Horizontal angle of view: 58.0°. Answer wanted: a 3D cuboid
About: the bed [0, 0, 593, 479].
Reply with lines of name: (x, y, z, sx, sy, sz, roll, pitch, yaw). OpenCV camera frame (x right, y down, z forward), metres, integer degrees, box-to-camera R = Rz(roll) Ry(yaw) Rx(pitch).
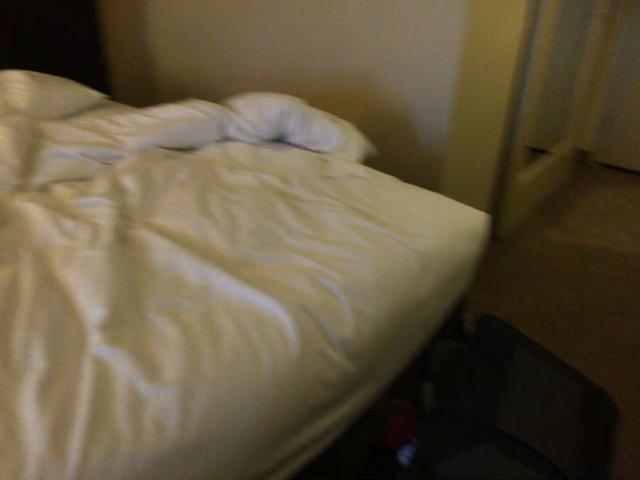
bed: (-0.730, -0.210, 1.570, 2.160, 1.590, 1.780, 19, 34, 34)

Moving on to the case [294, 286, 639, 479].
case: (0.400, 0.530, 1.350, 0.580, 0.420, 0.710, 19, 34, 34)
